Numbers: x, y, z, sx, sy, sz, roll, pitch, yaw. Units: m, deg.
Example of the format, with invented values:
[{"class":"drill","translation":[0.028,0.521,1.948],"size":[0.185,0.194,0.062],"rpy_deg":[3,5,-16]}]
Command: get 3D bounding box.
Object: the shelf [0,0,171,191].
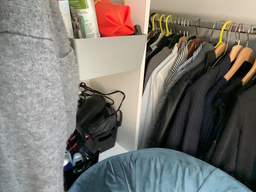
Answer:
[{"class":"shelf","translation":[-0.170,0.070,0.830],"size":[0.410,1.440,0.370],"rpy_deg":[-16,31,-38]}]
